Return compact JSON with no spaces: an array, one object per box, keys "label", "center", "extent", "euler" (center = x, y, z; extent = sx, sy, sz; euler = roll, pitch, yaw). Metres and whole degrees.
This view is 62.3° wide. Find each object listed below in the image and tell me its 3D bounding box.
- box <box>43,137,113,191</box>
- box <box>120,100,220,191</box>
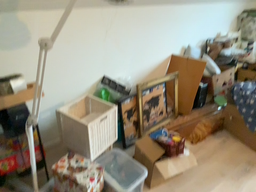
[{"label":"box","center":[-0.360,0.610,1.590],"extent":[0.400,0.390,0.290],"euler":[20,33,31]},{"label":"box","center":[0.340,0.420,1.980],"extent":[0.580,0.390,0.670],"euler":[-14,31,-28]}]
